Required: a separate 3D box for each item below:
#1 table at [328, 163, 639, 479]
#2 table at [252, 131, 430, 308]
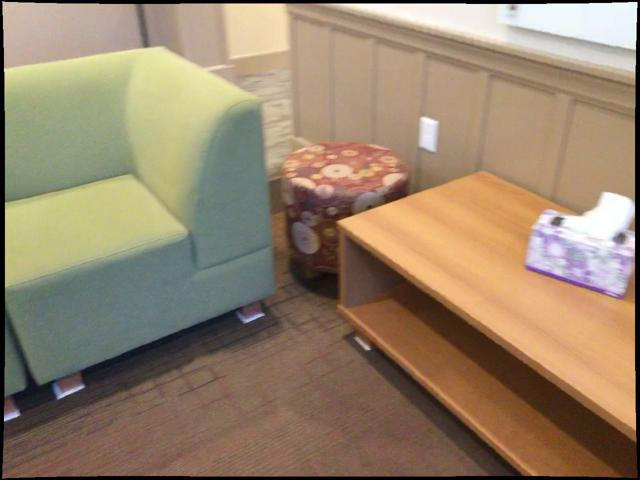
[{"bbox_3d":[0.598,0.261,1.580,0.629,0.451,1.110,-21,37,-28],"label":"table"},{"bbox_3d":[0.070,-0.100,2.150,0.439,0.391,0.470,-21,37,-28],"label":"table"}]
